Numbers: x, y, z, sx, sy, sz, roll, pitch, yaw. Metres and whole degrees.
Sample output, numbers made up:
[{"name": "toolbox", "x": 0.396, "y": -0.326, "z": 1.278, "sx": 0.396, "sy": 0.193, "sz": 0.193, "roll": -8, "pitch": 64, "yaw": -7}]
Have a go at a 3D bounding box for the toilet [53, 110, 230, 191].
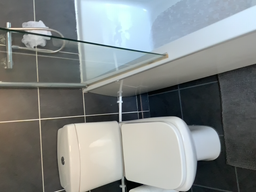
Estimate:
[{"name": "toilet", "x": 0.070, "y": 0.330, "z": 1.300, "sx": 0.690, "sy": 0.790, "sz": 0.390, "roll": -12, "pitch": 82, "yaw": 50}]
